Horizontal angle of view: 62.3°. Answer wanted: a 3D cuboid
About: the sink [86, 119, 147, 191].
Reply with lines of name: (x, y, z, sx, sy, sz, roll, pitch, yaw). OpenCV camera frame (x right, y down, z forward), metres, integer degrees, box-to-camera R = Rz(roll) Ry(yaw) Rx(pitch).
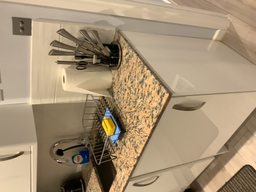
sink: (-0.120, 0.500, 1.640, 0.460, 0.230, 0.410, 58, 140, 40)

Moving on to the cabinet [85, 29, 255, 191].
cabinet: (0.290, 0.230, 1.560, 0.610, 0.900, 1.160, 58, 140, 40)
